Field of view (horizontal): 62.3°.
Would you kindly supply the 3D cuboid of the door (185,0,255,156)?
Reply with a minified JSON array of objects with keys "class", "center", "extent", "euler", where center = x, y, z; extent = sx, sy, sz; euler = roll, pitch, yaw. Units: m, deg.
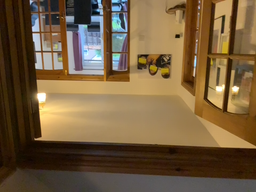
[{"class":"door","center":[0.550,-0.680,1.210],"extent":[0.070,1.930,0.550],"euler":[-2,-168,-12]}]

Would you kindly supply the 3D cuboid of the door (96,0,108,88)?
[{"class":"door","center":[-0.390,-1.200,3.260],"extent":[0.110,2.040,0.890],"euler":[0,-168,-2]}]
